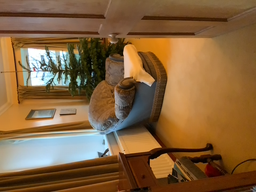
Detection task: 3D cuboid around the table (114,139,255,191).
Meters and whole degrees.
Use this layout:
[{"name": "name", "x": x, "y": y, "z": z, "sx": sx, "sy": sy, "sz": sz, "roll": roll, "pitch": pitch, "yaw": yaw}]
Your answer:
[{"name": "table", "x": 0.340, "y": 0.690, "z": 1.470, "sx": 0.690, "sy": 0.760, "sz": 0.450, "roll": -132, "pitch": 41, "yaw": -70}]
